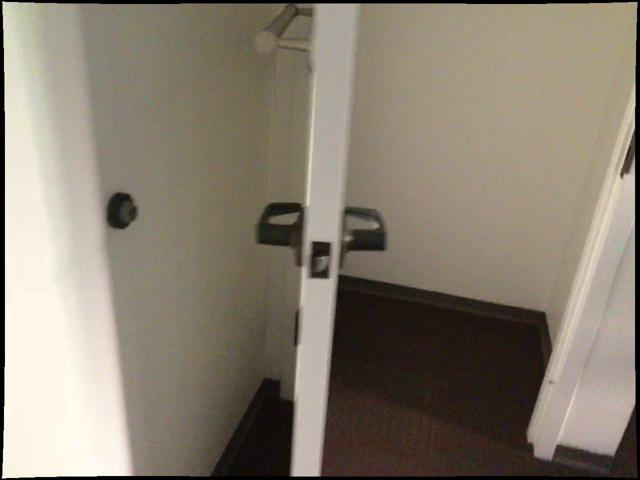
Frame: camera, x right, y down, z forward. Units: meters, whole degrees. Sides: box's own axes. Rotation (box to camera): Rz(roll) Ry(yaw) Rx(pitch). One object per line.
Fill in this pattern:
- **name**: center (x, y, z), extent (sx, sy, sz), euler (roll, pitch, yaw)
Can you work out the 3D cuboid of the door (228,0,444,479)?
- **door**: center (-0.040, -0.130, 1.250), extent (0.219, 1.824, 1.091), euler (1, 27, -5)
